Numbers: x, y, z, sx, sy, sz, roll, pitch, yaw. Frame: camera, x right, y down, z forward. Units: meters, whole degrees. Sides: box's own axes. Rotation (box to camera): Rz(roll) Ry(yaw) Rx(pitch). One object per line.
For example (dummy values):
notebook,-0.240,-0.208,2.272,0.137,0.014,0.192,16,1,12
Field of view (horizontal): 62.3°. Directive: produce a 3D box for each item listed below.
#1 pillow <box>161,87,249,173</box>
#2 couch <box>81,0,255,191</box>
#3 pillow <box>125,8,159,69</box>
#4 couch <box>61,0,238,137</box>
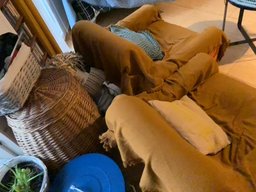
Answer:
pillow,0.380,0.150,1.150,0.120,0.380,0.390,-44,94,8
couch,0.480,0.180,1.140,0.960,0.790,0.770,-41,52,-18
pillow,0.110,-0.450,1.720,0.140,0.360,0.410,-16,101,5
couch,0.200,-0.400,1.700,0.900,0.780,0.810,-41,52,-18
